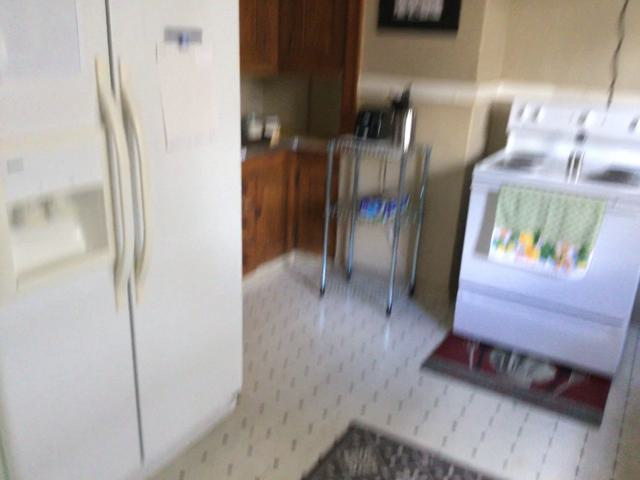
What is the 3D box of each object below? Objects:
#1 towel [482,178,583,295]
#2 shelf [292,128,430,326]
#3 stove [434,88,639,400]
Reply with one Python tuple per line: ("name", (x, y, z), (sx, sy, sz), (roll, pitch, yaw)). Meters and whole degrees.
("towel", (0.910, -0.020, 2.500), (0.340, 0.440, 0.080), (14, 21, 30))
("shelf", (0.210, -0.100, 3.200), (0.590, 0.940, 0.390), (14, 21, 30))
("stove", (1.170, -0.080, 2.780), (0.850, 1.180, 0.840), (14, 21, 30))
